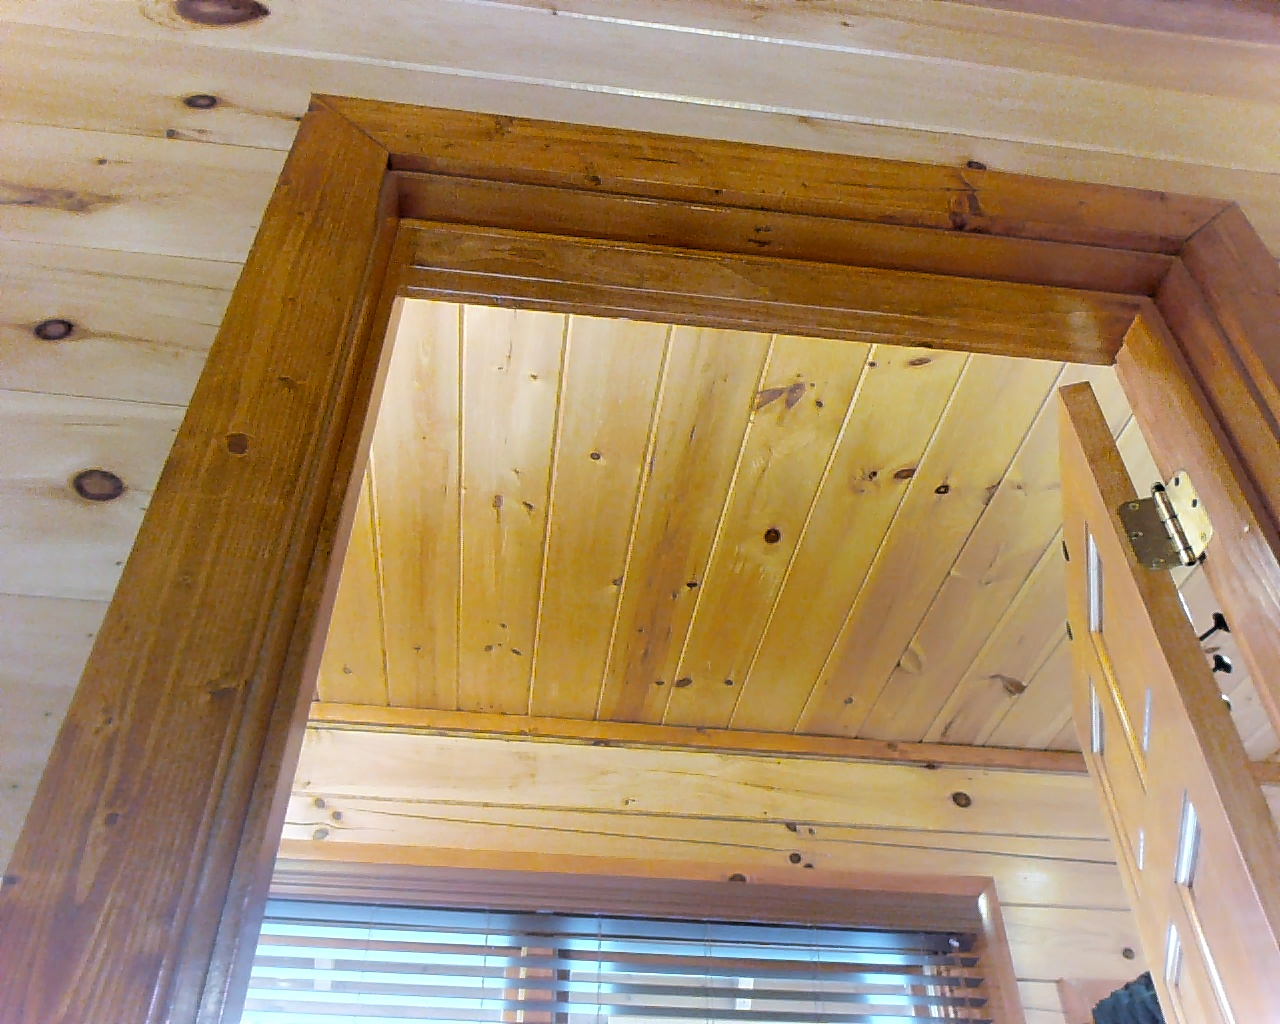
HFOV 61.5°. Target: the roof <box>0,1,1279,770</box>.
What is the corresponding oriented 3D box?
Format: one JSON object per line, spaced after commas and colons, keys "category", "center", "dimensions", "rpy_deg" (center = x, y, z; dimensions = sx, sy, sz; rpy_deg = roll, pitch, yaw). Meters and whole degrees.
{"category": "roof", "center": [0.170, -0.010, 2.150], "dimensions": [3.760, 0.050, 1.710], "rpy_deg": [4, -42, -5]}
